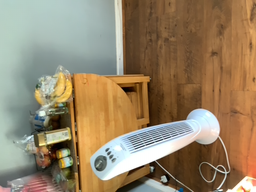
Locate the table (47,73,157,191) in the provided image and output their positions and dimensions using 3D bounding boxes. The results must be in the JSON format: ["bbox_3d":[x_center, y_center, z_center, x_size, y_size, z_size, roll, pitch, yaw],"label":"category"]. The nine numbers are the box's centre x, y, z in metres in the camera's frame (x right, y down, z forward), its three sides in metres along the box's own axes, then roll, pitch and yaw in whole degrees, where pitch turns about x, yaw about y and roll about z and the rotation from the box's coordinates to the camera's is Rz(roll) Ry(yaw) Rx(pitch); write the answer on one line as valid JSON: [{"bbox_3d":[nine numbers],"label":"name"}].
[{"bbox_3d":[-0.160,0.290,1.630,0.360,0.720,0.910,2,96,47],"label":"table"}]
